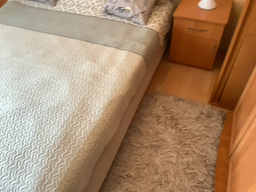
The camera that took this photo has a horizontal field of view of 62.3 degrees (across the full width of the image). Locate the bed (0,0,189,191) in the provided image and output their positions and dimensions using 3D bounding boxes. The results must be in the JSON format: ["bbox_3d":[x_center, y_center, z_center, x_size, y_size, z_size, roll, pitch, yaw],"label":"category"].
[{"bbox_3d":[-0.650,-0.300,1.760,1.730,0.510,2.120,18,51,18],"label":"bed"}]
